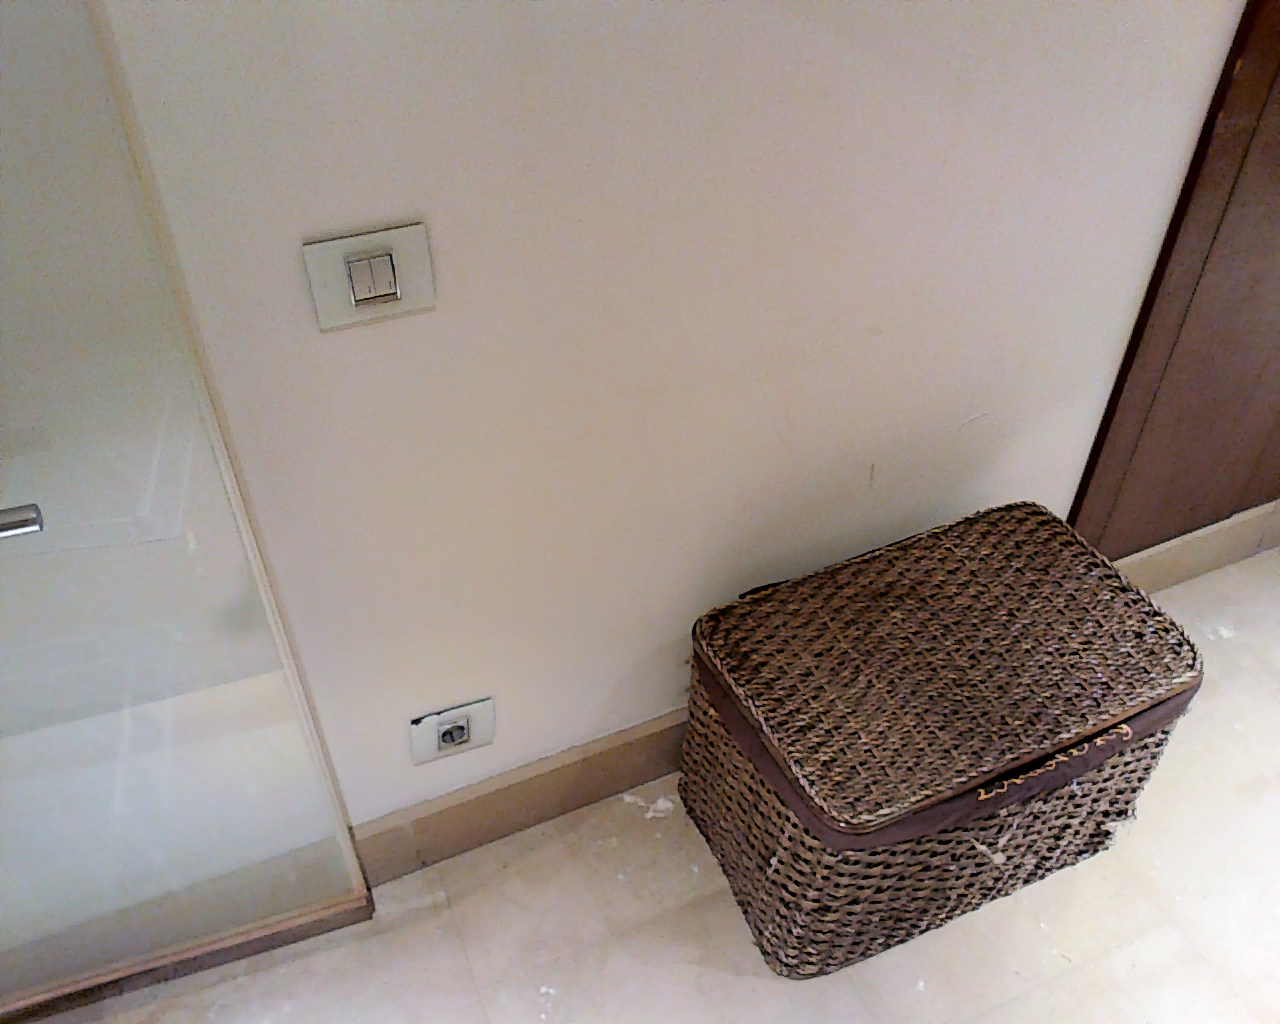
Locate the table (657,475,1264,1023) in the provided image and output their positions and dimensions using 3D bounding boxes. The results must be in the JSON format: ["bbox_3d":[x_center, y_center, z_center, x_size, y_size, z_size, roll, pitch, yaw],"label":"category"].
[{"bbox_3d":[0.450,0.360,1.720,0.700,0.480,0.490,-17,44,-18],"label":"table"}]
